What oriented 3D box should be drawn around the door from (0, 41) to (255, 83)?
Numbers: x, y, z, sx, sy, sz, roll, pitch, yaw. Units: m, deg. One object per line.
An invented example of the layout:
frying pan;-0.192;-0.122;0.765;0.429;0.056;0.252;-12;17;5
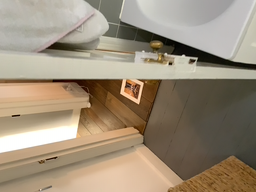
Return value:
door;-0.190;-0.140;0.740;0.750;2.000;0.040;20;108;47
